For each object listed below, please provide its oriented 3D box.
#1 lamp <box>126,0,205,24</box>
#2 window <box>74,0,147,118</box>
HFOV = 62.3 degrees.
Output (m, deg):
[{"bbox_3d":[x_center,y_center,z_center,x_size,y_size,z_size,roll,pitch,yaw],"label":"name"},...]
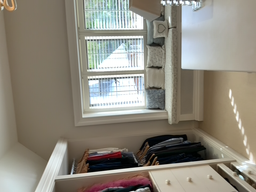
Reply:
[{"bbox_3d":[0.300,-0.850,1.810,0.340,0.590,0.390,-129,38,-75],"label":"lamp"},{"bbox_3d":[-0.270,-1.030,3.550,0.040,1.190,2.790,-137,46,-77],"label":"window"}]
